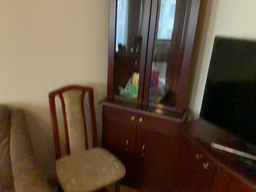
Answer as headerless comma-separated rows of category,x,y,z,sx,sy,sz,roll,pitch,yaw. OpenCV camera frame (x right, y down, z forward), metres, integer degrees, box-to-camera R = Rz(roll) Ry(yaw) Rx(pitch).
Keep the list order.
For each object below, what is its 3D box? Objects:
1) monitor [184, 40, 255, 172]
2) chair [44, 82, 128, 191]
monitor,0.670,0.090,1.020,0.050,0.590,1.030,-6,22,-25
chair,-0.350,0.440,1.700,0.430,0.960,0.550,-9,23,-31
